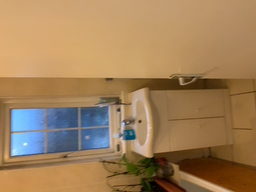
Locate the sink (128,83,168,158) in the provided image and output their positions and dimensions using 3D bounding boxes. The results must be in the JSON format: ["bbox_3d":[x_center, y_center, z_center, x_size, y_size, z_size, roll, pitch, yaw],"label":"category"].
[{"bbox_3d":[0.150,0.200,1.800,0.420,0.150,0.560,161,107,-70],"label":"sink"}]

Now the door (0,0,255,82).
[{"bbox_3d":[0.330,-0.160,0.610,0.790,1.910,0.030,148,119,-68],"label":"door"}]
